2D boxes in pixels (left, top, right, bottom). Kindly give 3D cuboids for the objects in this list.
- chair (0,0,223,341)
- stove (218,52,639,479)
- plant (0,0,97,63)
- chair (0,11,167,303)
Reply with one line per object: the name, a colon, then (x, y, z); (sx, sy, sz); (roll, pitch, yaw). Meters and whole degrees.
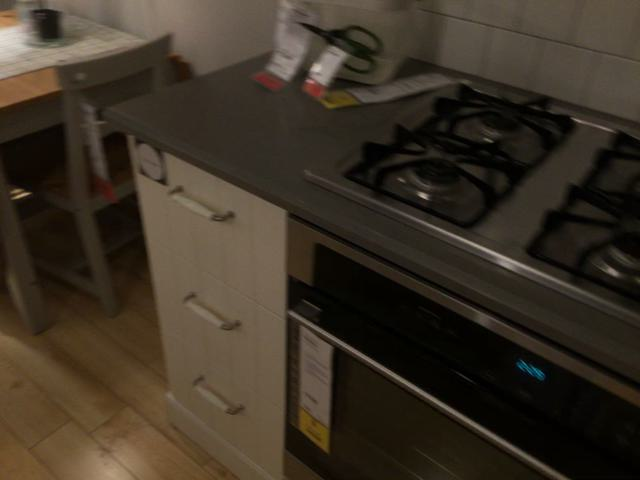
chair: (-0.780, -0.280, 1.900); (0.740, 0.840, 0.500); (27, 41, 29)
stove: (0.420, 0.340, 1.070); (0.970, 1.010, 0.670); (27, 41, 29)
plant: (-0.840, -0.740, 1.750); (0.200, 0.320, 0.180); (27, 41, 29)
chair: (-0.980, -0.320, 2.040); (0.630, 0.740, 0.500); (27, 41, 29)
